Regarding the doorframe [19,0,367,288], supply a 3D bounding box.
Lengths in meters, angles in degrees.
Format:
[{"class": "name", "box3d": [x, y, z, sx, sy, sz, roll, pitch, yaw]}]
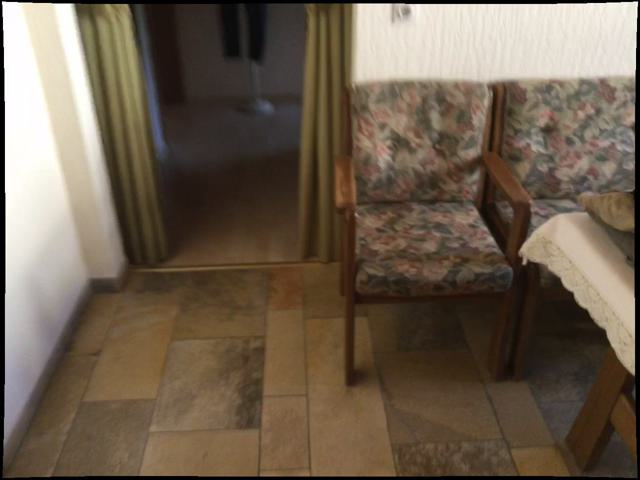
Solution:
[{"class": "doorframe", "box3d": [-0.400, -0.801, 1.980, 1.089, 2.122, 0.310, -2, 32, -2]}]

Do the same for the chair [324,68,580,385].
[{"class": "chair", "box3d": [0.350, -0.070, 2.020, 0.629, 0.851, 0.700, -2, 32, -2]}]
